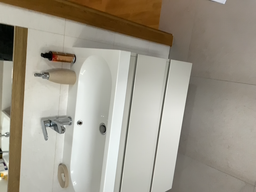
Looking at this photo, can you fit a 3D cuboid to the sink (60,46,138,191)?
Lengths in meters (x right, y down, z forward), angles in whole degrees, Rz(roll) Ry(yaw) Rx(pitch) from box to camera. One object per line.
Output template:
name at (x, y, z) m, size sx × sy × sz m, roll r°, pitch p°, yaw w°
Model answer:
sink at (-0.180, 0.170, 1.090) m, size 0.400 × 0.100 × 0.810 m, roll 16°, pitch 103°, yaw 45°
